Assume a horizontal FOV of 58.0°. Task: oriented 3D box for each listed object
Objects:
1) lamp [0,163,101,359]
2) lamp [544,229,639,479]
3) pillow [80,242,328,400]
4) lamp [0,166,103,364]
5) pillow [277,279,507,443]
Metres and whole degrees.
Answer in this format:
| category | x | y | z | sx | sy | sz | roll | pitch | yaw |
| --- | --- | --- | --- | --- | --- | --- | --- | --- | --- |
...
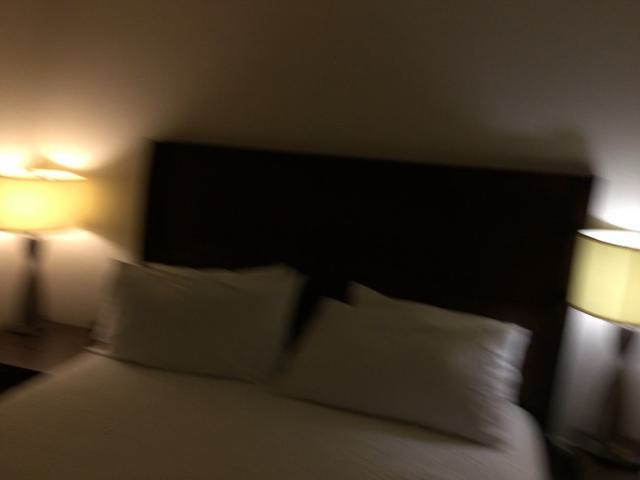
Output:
| category | x | y | z | sx | sy | sz | roll | pitch | yaw |
| --- | --- | --- | --- | --- | --- | --- | --- | --- | --- |
| lamp | -1.370 | 0.060 | 2.690 | 0.450 | 0.800 | 0.450 | 8 | 9 | 20 |
| lamp | 1.000 | 0.380 | 1.860 | 0.420 | 0.750 | 0.430 | 8 | 9 | 20 |
| pillow | -0.460 | 0.280 | 2.320 | 0.850 | 0.390 | 0.440 | 8 | 9 | 20 |
| lamp | -1.320 | 0.080 | 2.650 | 0.380 | 0.800 | 0.450 | 8 | 9 | 20 |
| pillow | 0.270 | 0.400 | 2.100 | 0.720 | 0.340 | 0.410 | 8 | 9 | 20 |
